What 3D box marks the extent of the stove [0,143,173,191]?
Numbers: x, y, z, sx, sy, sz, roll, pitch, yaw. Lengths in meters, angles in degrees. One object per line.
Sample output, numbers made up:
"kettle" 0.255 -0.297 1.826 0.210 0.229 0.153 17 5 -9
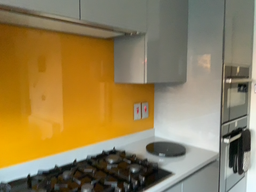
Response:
"stove" -0.260 0.440 1.150 0.910 0.040 0.570 -5 7 -44
